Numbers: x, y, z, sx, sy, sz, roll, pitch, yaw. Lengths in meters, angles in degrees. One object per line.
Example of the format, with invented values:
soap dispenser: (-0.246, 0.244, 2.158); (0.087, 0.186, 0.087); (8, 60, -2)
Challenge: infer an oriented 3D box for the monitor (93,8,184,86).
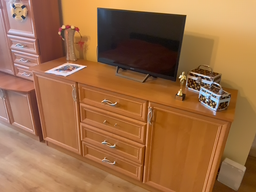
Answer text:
monitor: (0.030, -0.390, 1.620); (0.730, 0.480, 0.040); (18, 30, 28)
